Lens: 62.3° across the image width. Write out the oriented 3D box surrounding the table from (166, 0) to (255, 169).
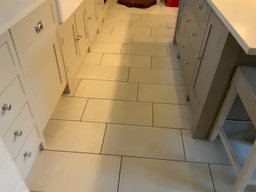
[{"bbox_3d":[1.180,-0.570,2.010,1.360,0.910,2.290,4,40,2],"label":"table"}]
